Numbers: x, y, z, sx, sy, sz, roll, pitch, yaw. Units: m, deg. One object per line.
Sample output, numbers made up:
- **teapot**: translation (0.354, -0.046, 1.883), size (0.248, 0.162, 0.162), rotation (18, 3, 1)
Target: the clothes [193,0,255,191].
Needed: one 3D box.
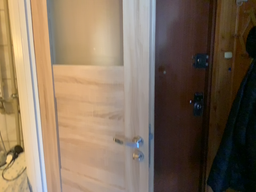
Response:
- **clothes**: translation (0.790, 0.140, 1.420), size (0.400, 1.500, 0.680), rotation (0, 11, -2)
